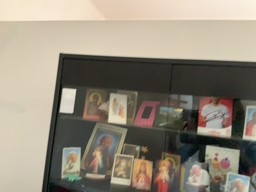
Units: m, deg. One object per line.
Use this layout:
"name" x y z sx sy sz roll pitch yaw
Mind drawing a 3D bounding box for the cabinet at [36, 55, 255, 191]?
"cabinet" 0.110 0.500 0.800 0.820 1.210 0.360 5 -3 14
